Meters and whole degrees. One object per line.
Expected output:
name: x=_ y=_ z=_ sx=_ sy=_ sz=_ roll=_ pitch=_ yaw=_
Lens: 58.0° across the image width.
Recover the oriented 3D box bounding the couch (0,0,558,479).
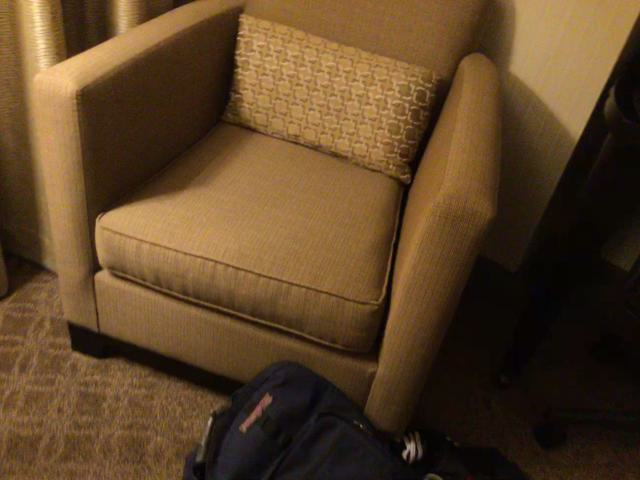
couch: x=-0.030 y=-0.180 z=1.340 sx=0.820 sy=0.870 sz=0.850 roll=13 pitch=32 yaw=11

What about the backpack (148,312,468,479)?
backpack: x=-0.030 y=0.420 z=1.090 sx=0.440 sy=0.260 sz=0.360 roll=28 pitch=38 yaw=29
